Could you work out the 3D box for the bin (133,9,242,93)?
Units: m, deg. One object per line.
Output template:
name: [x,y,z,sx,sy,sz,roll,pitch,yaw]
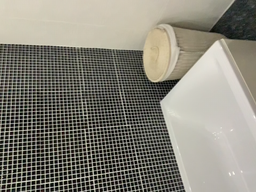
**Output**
bin: [0.430,-0.330,1.700,0.450,0.590,0.440,122,141,-56]
